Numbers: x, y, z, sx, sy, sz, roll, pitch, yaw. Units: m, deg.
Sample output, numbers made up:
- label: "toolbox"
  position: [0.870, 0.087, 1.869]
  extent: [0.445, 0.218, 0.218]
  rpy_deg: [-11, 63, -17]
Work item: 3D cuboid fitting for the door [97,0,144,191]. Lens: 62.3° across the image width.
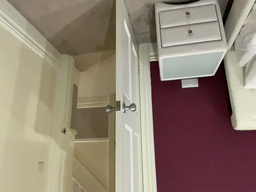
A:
- label: "door"
  position: [-0.020, 0.280, 1.510]
  extent: [0.140, 2.030, 0.770]
  rpy_deg: [-5, 163, 10]
